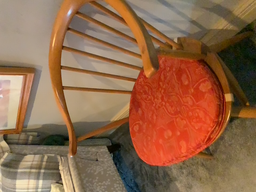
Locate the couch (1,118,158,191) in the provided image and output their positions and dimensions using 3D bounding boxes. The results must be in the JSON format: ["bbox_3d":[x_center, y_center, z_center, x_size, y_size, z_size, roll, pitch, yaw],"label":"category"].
[{"bbox_3d":[-0.440,0.810,1.620,0.900,0.880,0.870,56,133,44],"label":"couch"}]
